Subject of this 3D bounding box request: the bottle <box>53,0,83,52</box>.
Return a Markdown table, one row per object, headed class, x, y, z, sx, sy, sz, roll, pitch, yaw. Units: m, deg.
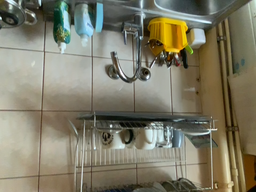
| class | x | y | z | sx | sy | sz | roll | pitch | yaw |
| --- | --- | --- | --- | --- | --- | --- | --- | --- | --- |
| bottle | -0.250 | -0.300 | 0.870 | 0.090 | 0.200 | 0.120 | -3 | 169 | -23 |
